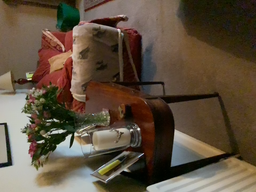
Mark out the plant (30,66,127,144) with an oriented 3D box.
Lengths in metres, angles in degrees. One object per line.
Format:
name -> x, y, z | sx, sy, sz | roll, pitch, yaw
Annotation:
plant -> -0.350, 0.010, 1.430 | 0.460, 0.500, 0.380 | 22, 112, 56
